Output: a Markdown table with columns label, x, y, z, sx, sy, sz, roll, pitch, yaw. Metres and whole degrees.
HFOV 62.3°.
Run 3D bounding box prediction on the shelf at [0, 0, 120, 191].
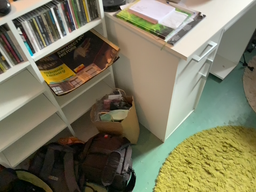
| label | x | y | z | sx | sy | sz | roll | pitch | yaw |
| --- | --- | --- | --- | --- | --- | --- | --- | --- | --- |
| shelf | -0.510 | 0.060 | 0.940 | 1.030 | 0.900 | 0.190 | -39 | 61 | -23 |
